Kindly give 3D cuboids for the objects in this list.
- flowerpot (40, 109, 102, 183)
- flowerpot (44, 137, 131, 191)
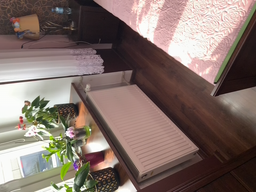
[{"bbox_3d":[-0.560,0.460,2.020,0.360,0.440,0.490,51,138,38],"label":"flowerpot"},{"bbox_3d":[-0.330,0.670,1.590,0.450,0.460,0.420,50,137,38],"label":"flowerpot"}]
